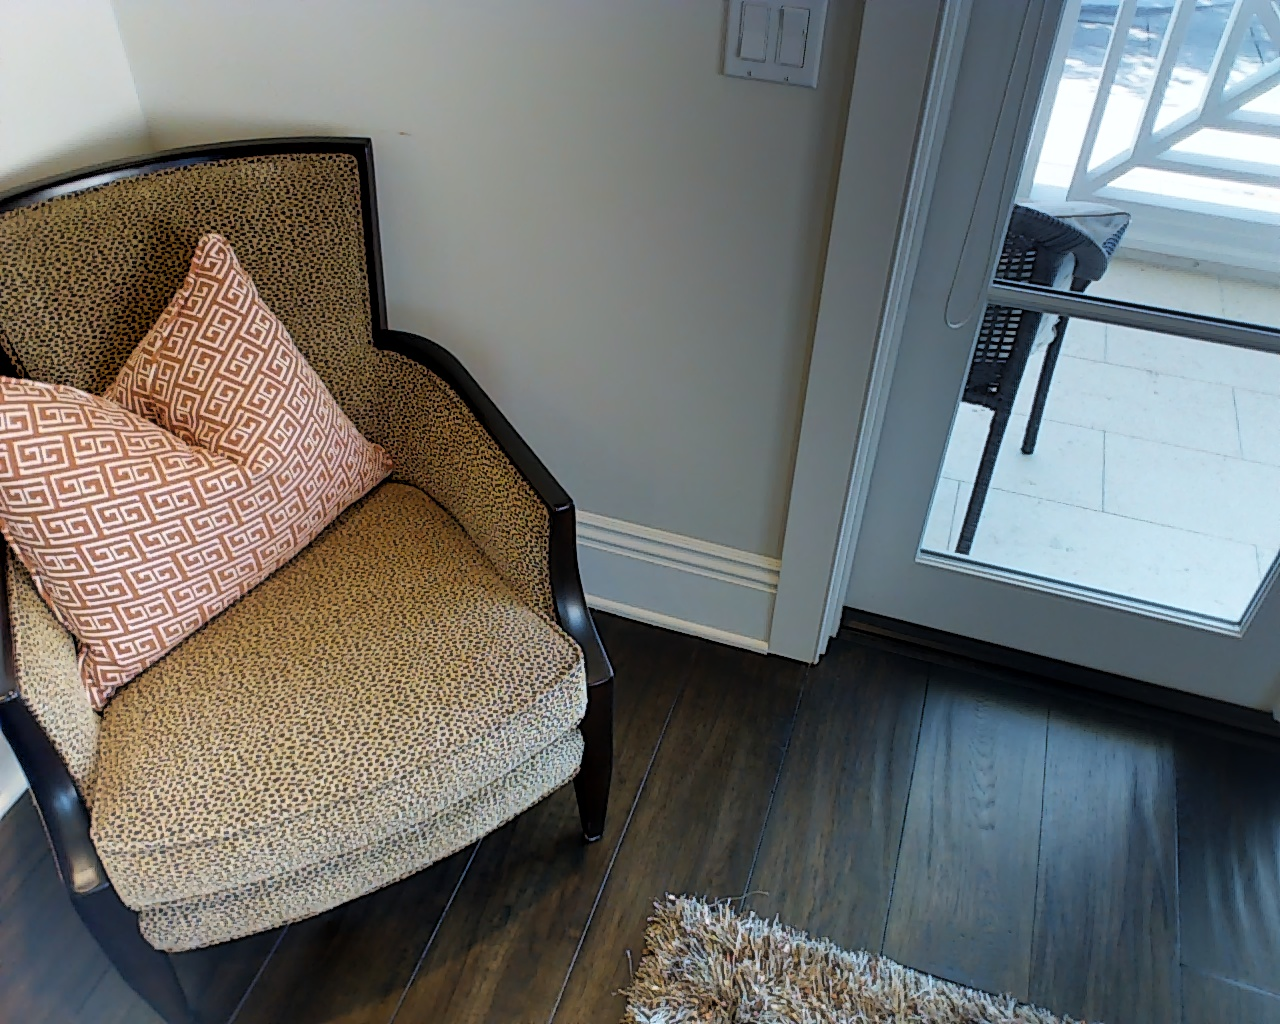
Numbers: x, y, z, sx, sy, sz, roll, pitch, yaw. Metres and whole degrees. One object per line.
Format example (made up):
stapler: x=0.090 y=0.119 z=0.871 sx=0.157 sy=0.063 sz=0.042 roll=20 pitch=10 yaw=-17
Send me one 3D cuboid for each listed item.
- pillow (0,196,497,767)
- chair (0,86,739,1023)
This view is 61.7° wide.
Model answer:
pillow: x=-0.520 y=-0.060 z=1.350 sx=0.220 sy=0.450 sz=0.550 roll=16 pitch=48 yaw=40
chair: x=-0.490 y=0.100 z=1.470 sx=0.870 sy=0.940 sz=0.860 roll=-18 pitch=44 yaw=-20
